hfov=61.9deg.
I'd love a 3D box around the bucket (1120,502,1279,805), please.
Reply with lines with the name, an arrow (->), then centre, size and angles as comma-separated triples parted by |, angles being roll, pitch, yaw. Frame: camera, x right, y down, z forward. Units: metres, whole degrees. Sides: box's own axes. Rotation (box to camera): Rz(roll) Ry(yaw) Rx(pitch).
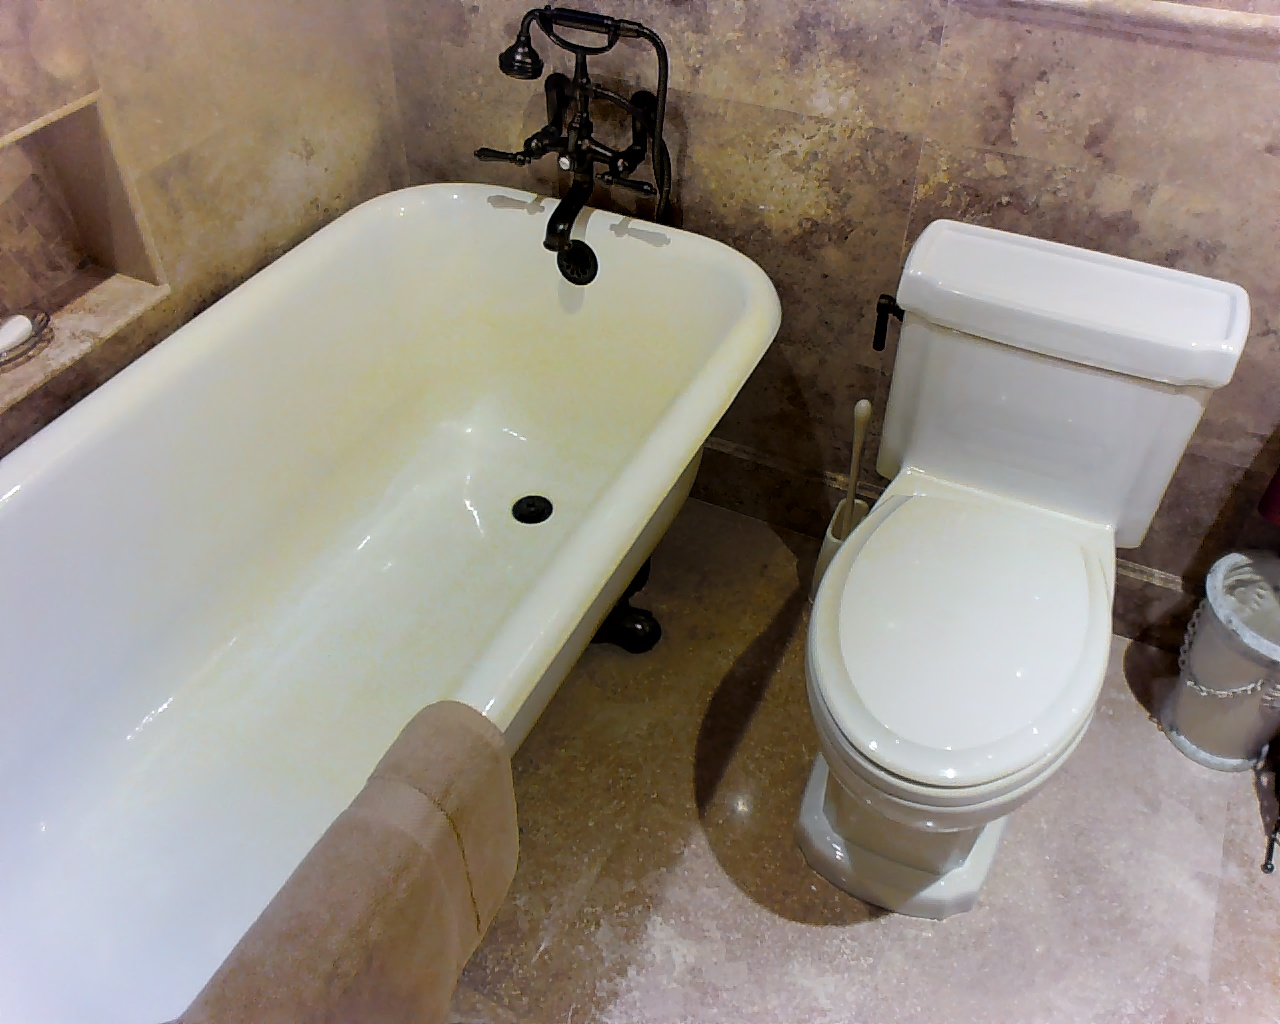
bucket -> 0.940, 0.220, 1.640 | 0.260, 0.320, 0.260 | 18, 47, 18

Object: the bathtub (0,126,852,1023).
bathtub -> -0.490, 0.210, 1.440 | 0.950, 0.620, 1.760 | 19, 47, 19
